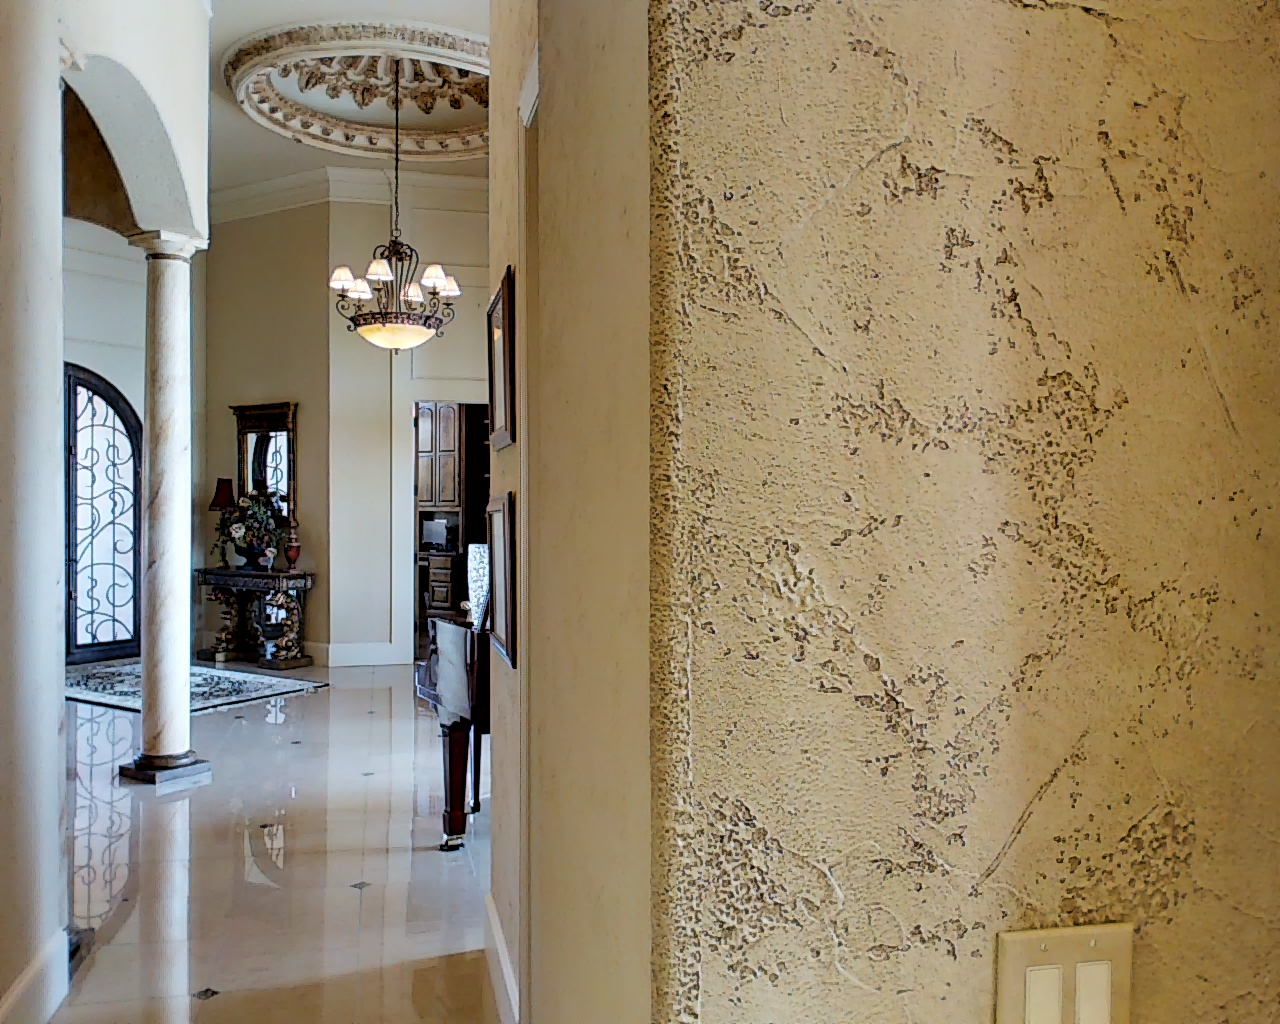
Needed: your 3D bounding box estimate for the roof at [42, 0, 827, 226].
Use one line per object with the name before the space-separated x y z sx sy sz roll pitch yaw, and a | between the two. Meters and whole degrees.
roof | -1.489 -2.961 7.480 4.299 0.160 5.870 0 0 -13
